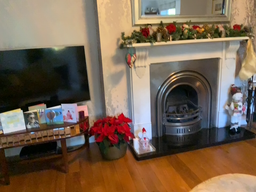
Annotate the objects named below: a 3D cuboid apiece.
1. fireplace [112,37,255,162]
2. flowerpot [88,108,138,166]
[{"bbox_3d":[0.670,-0.070,2.610,1.500,1.180,0.750,-8,15,-17],"label":"fireplace"},{"bbox_3d":[-0.180,0.430,2.370,0.430,0.410,0.470,-7,15,-16],"label":"flowerpot"}]
